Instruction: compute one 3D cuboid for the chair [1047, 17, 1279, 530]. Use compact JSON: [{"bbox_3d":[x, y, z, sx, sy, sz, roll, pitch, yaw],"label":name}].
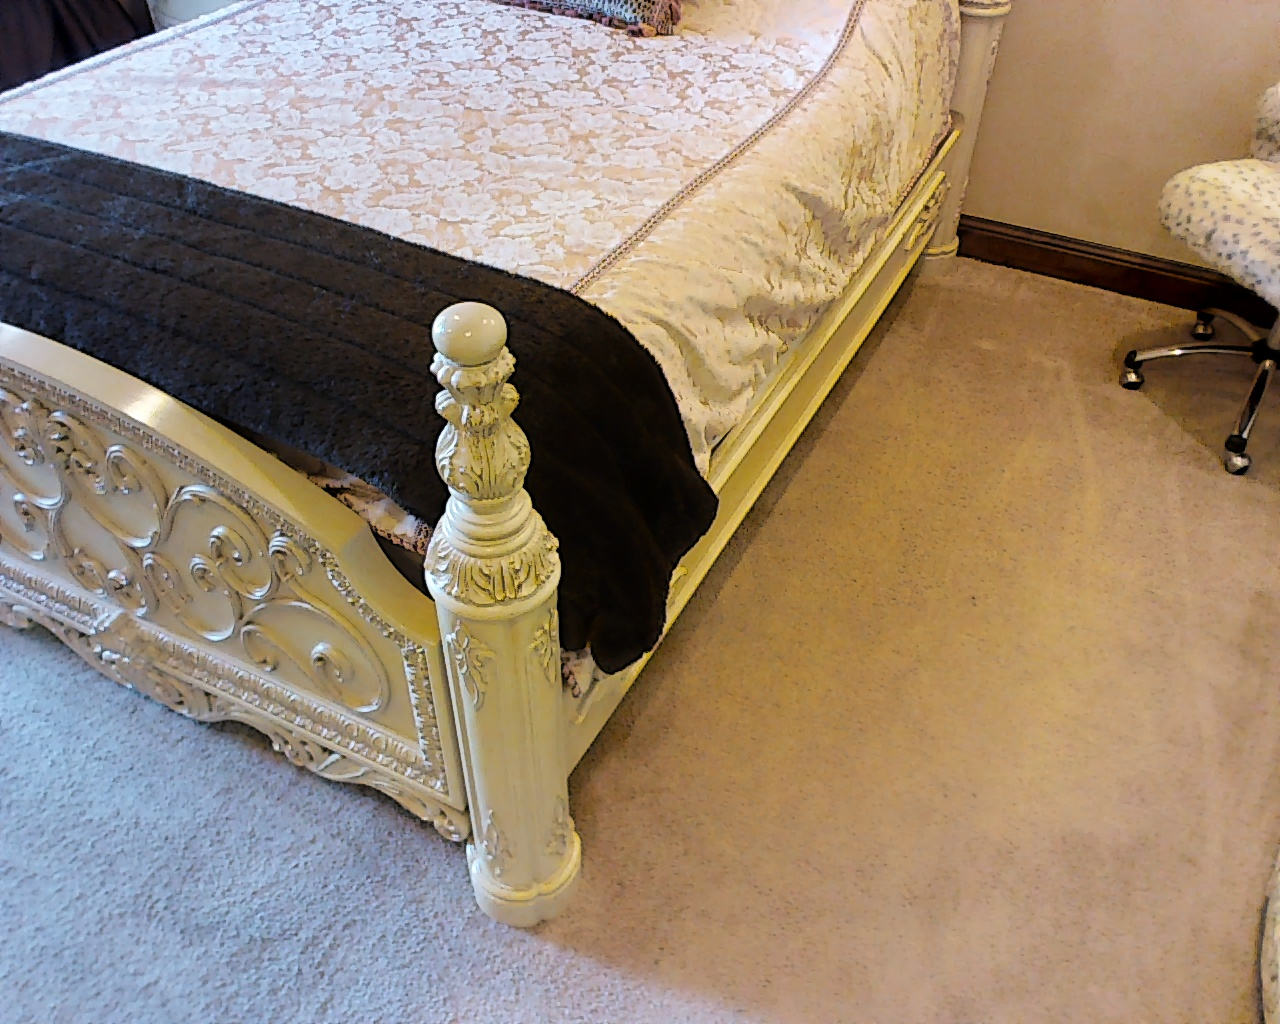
[{"bbox_3d":[1.560,-0.580,2.450,0.700,0.820,0.770,-12,43,-13],"label":"chair"}]
